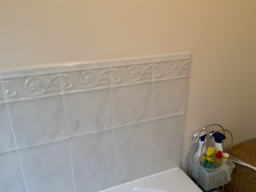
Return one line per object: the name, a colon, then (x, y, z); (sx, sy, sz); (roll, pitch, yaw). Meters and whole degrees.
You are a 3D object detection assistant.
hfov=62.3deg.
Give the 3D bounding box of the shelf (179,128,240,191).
shelf: (0.450, 0.580, 1.280); (0.190, 0.740, 0.200); (-11, 24, -23)
